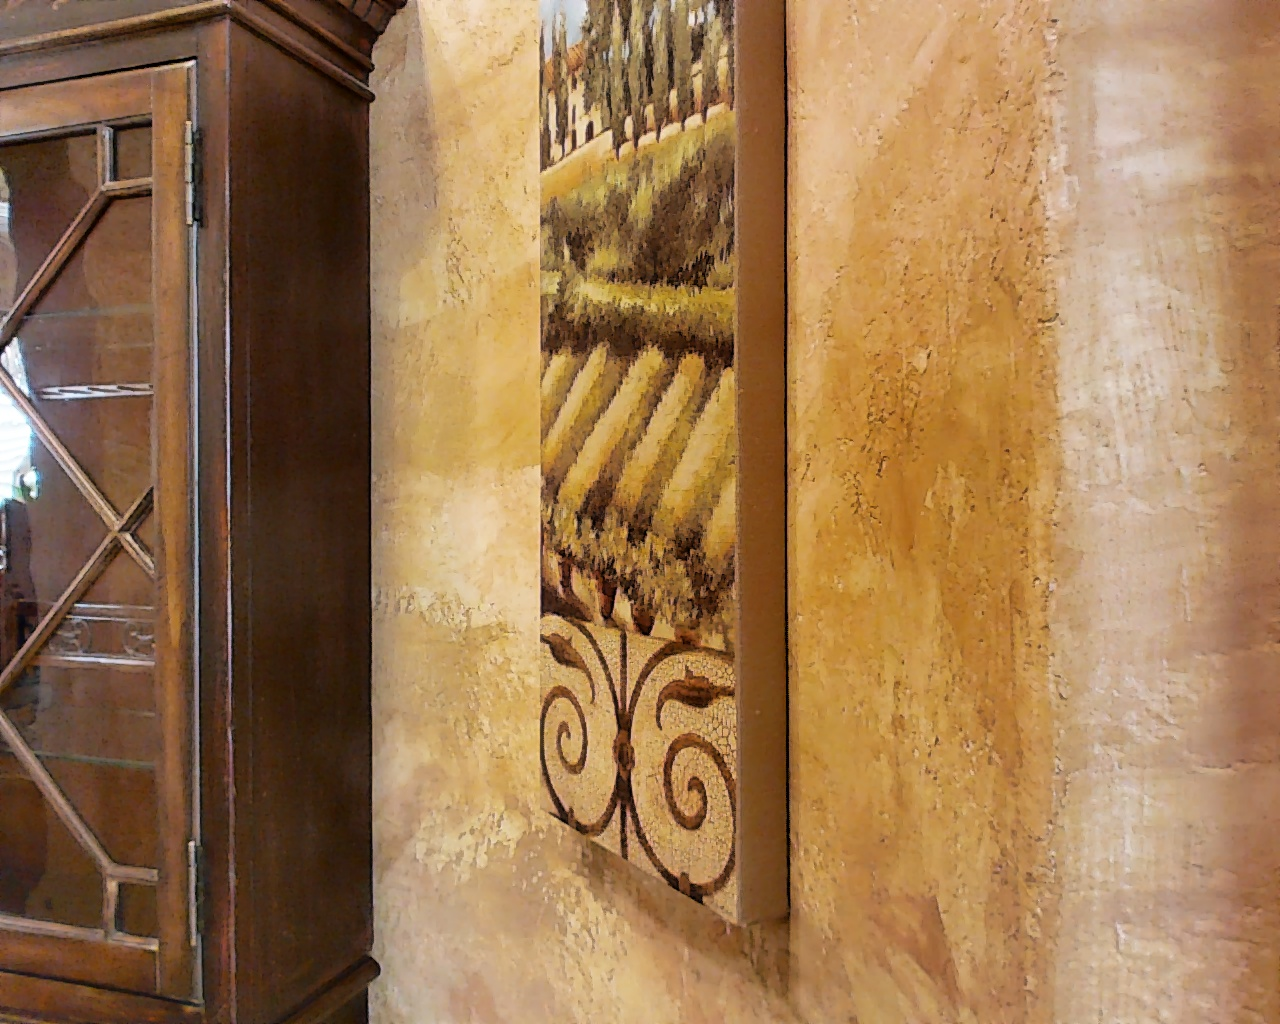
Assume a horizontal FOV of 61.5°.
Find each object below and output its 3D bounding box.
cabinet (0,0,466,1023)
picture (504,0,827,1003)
[{"bbox_3d":[-0.620,0.400,0.990,0.730,2.291,0.570,0,0,17],"label":"cabinet"},{"bbox_3d":[0.000,-0.180,0.810,0.070,0.950,0.340,0,0,-31],"label":"picture"}]
